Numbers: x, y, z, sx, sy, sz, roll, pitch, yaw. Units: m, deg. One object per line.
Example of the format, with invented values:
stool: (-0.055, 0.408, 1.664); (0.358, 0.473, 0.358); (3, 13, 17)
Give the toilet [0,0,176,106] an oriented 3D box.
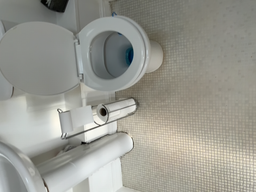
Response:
toilet: (-0.200, -0.210, 1.100); (0.640, 0.780, 0.370); (1, 98, 33)
